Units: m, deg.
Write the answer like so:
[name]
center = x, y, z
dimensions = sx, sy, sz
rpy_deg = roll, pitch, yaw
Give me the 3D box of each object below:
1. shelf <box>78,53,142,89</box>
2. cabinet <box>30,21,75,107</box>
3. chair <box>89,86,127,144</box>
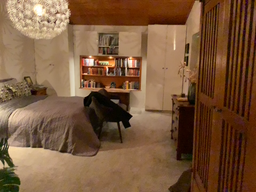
[shelf]
center = -0.530, -0.740, 6.240
dimensions = 1.840, 0.990, 0.200
rpy_deg = 2, 11, 4
[cabinet]
center = -2.120, -0.890, 6.050
dimensions = 1.030, 2.340, 0.390
rpy_deg = 2, 11, 5
[chair]
center = -0.330, 0.290, 4.160
dimensions = 0.580, 0.780, 1.380
rpy_deg = 1, 11, 0
